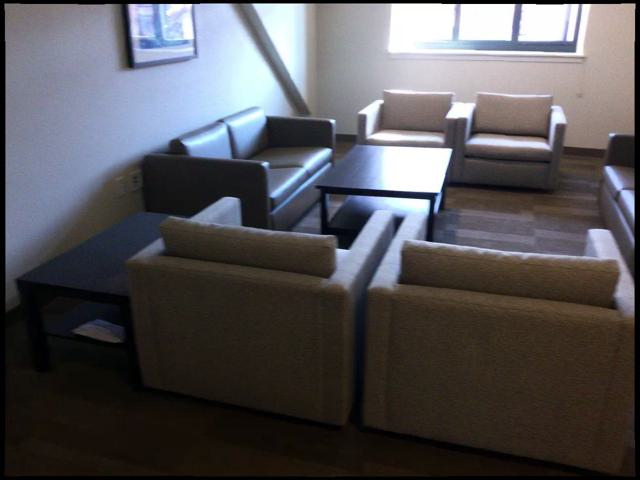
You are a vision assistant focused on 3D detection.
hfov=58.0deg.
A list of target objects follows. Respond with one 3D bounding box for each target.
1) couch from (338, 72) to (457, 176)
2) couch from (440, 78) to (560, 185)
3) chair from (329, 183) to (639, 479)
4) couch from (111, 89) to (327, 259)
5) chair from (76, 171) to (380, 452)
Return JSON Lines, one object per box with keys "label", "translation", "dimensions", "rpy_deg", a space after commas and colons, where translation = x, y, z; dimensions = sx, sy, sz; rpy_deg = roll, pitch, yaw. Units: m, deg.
{"label": "couch", "translation": [0.729, -1.102, 5.310], "dimensions": [0.928, 0.701, 0.910], "rpy_deg": [6, 25, 13]}
{"label": "couch", "translation": [1.577, -1.002, 5.140], "dimensions": [0.858, 0.691, 0.940], "rpy_deg": [7, 25, 14]}
{"label": "chair", "translation": [0.609, 0.301, 2.220], "dimensions": [0.958, 0.741, 0.800], "rpy_deg": [7, 25, 14]}
{"label": "couch", "translation": [-0.609, -0.581, 4.230], "dimensions": [0.918, 0.721, 1.600], "rpy_deg": [7, 25, 14]}
{"label": "chair", "translation": [-0.299, 0.220, 2.420], "dimensions": [0.928, 0.721, 0.830], "rpy_deg": [7, 25, 14]}
